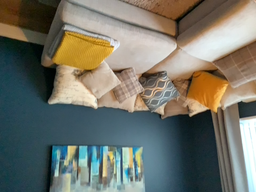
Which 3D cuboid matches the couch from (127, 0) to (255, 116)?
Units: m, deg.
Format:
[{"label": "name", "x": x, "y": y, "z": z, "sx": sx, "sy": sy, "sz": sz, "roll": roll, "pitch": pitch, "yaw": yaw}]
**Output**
[{"label": "couch", "x": 1.250, "y": -0.500, "z": 2.210, "sx": 1.250, "sy": 0.840, "sz": 2.960, "roll": 9, "pitch": 162, "yaw": -28}]
